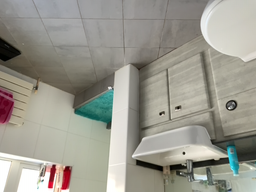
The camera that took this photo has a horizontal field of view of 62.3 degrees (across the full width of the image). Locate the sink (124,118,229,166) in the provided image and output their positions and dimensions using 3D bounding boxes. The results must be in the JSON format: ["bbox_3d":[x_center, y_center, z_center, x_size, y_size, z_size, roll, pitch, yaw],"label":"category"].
[{"bbox_3d":[0.330,0.360,1.520,0.580,0.150,0.430,-22,144,37],"label":"sink"}]

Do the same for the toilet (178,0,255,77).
[{"bbox_3d":[0.580,-0.470,1.200,0.370,0.450,0.510,-23,144,37],"label":"toilet"}]
